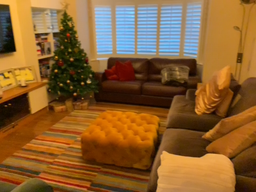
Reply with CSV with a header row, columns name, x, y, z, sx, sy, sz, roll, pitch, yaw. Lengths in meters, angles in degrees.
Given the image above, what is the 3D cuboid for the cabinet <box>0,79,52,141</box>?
name,x,y,z,sx,sy,sz,roll,pitch,yaw
cabinet,-1.870,0.240,3.170,0.400,0.560,1.750,5,19,16

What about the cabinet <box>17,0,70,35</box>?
name,x,y,z,sx,sy,sz,roll,pitch,yaw
cabinet,-1.540,-1.620,3.960,0.290,0.890,1.050,5,19,16

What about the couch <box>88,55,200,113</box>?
name,x,y,z,sx,sy,sz,roll,pitch,yaw
couch,0.350,-0.320,4.330,2.030,0.840,0.950,4,19,15

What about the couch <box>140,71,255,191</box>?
name,x,y,z,sx,sy,sz,roll,pitch,yaw
couch,0.930,0.370,2.270,1.150,0.820,2.130,5,19,15

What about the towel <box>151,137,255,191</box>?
name,x,y,z,sx,sy,sz,roll,pitch,yaw
towel,0.470,0.540,1.470,0.610,0.270,0.470,2,18,7
